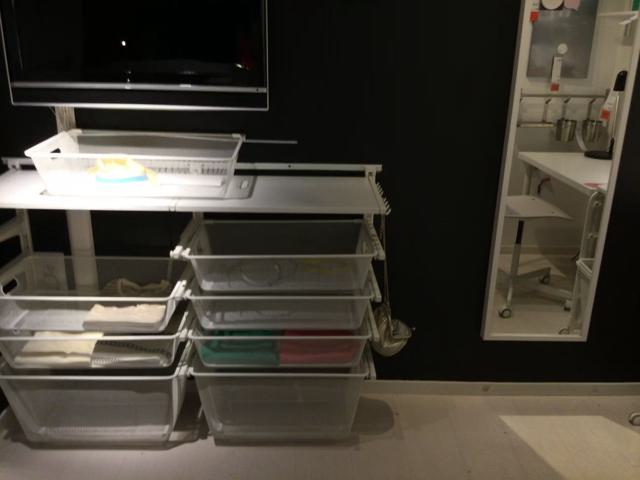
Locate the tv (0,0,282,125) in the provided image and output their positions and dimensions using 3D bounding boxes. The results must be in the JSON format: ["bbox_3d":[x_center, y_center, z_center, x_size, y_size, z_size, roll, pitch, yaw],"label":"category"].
[{"bbox_3d":[-0.600,-0.710,1.770,0.940,0.680,0.180,-1,18,-1],"label":"tv"}]

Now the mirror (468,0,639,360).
[{"bbox_3d":[0.820,-0.370,1.960,0.480,1.660,0.150,-1,18,-1],"label":"mirror"}]

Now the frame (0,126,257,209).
[{"bbox_3d":[-0.600,-0.240,1.810,0.760,0.170,0.440,-1,18,-1],"label":"frame"}]
